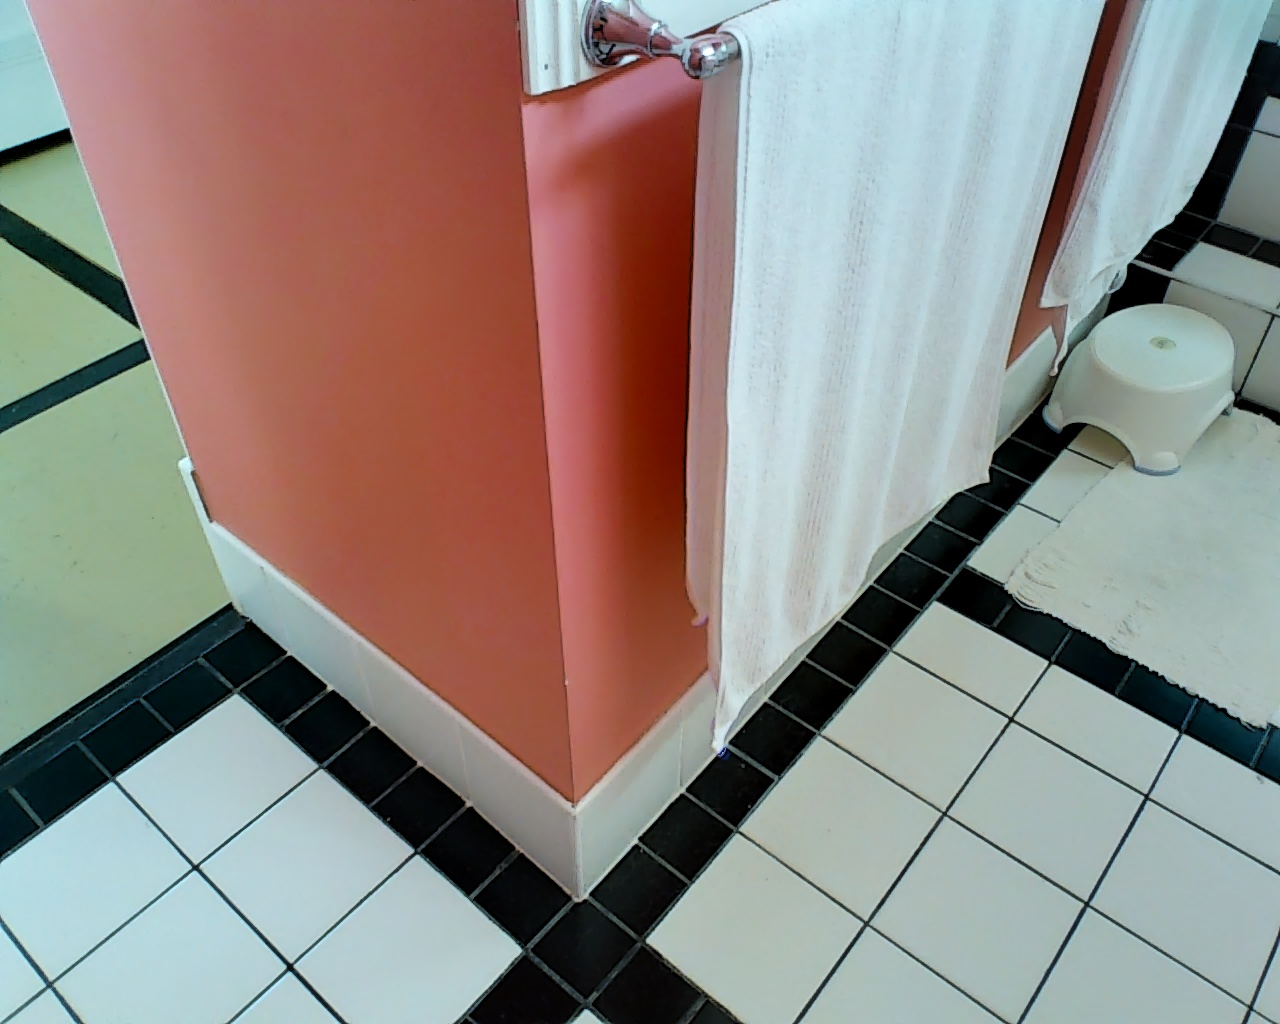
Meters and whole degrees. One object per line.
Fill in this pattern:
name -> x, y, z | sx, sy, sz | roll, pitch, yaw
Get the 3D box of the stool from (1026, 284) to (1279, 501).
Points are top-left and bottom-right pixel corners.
stool -> 0.980, -0.240, 2.050 | 0.310, 0.160, 0.360 | 30, 50, 28
